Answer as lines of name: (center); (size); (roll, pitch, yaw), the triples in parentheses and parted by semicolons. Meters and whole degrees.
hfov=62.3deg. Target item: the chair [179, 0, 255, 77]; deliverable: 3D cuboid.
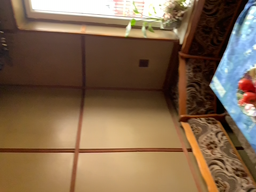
chair: (0.960, -0.550, 1.740); (0.420, 0.840, 0.640); (-98, 13, -49)

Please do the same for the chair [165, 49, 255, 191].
chair: (0.940, 0.250, 1.660); (1.570, 0.860, 0.490); (-99, 13, -50)
